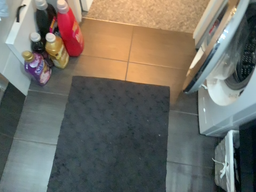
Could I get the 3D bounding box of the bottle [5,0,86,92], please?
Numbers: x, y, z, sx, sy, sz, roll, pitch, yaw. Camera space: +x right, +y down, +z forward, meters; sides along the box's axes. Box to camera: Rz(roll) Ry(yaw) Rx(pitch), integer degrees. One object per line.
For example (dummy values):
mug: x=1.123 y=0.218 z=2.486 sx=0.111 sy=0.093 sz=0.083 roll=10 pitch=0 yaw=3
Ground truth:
bottle: x=-0.440 y=-0.310 z=1.240 sx=0.210 sy=0.320 sz=0.450 roll=15 pitch=70 yaw=3
